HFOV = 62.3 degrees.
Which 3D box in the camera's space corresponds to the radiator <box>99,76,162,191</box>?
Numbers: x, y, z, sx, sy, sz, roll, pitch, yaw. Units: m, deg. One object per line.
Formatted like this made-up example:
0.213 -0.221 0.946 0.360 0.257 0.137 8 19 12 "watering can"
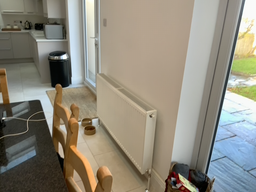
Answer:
-0.060 0.300 2.310 0.150 0.730 1.200 -6 24 -24 "radiator"
